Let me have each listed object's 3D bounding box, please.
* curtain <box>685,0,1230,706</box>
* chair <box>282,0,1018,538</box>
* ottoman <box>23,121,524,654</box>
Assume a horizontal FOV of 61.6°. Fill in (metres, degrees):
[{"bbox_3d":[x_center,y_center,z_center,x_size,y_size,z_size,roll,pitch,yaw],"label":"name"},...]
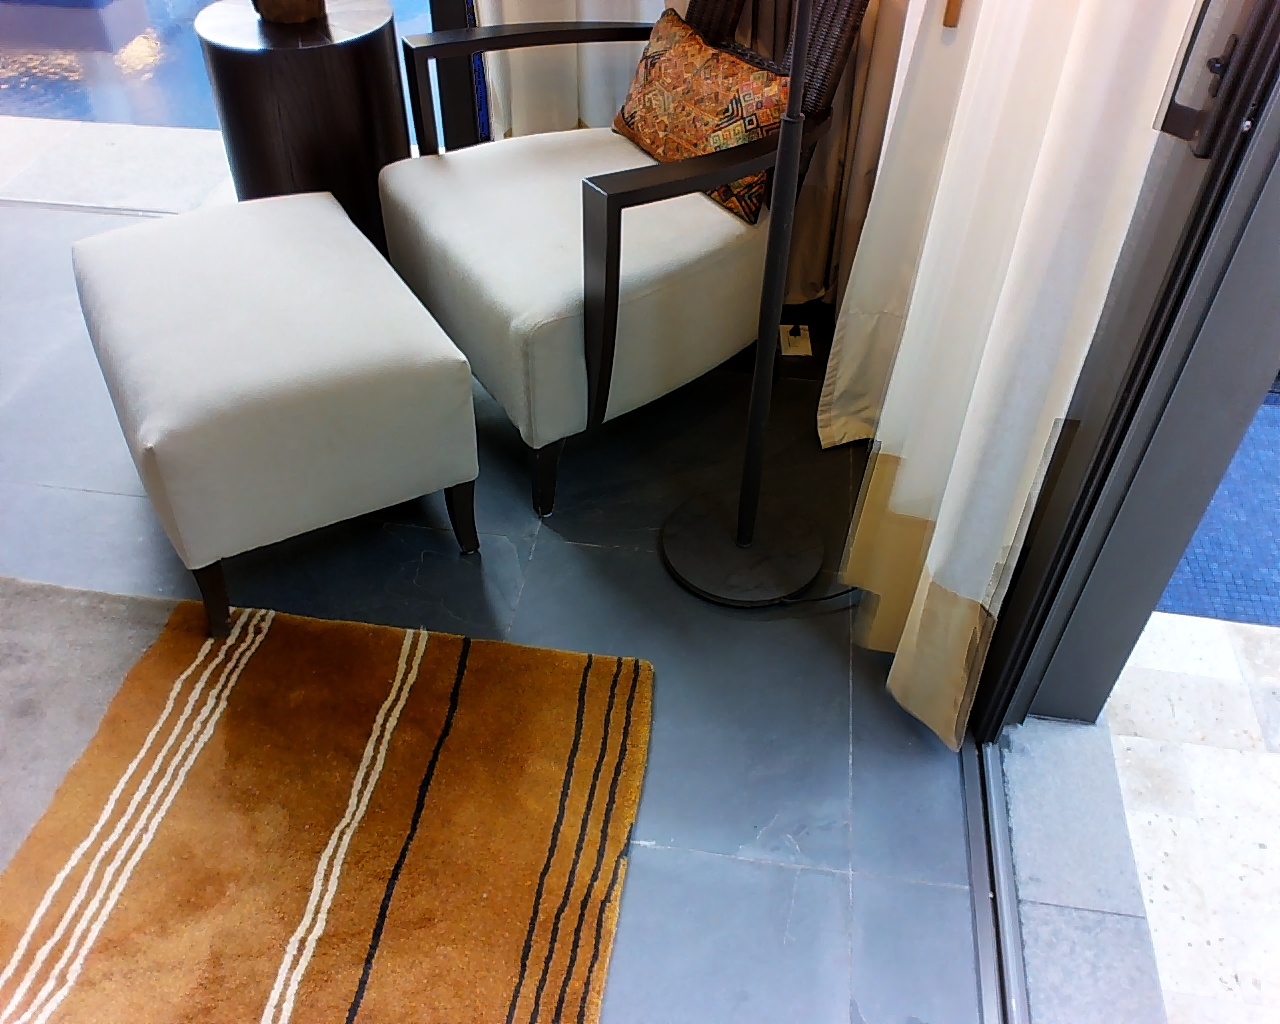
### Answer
[{"bbox_3d":[0.410,-1.090,1.300,0.460,2.620,1.240,6,43,5],"label":"curtain"},{"bbox_3d":[-0.020,-0.730,2.170,1.000,0.890,0.930,-24,49,-25],"label":"chair"},{"bbox_3d":[-0.670,-0.280,1.970,0.590,0.470,0.820,-21,47,-22],"label":"ottoman"}]
